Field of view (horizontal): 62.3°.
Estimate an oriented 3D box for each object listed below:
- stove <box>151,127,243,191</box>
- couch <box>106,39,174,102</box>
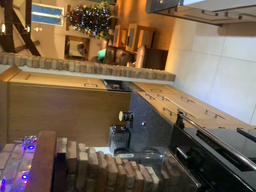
[{"bbox_3d":[0.350,0.670,1.070,0.960,0.050,0.680,-134,50,-67],"label":"stove"},{"bbox_3d":[0.160,-0.440,4.180,1.250,0.890,0.970,-171,85,-72],"label":"couch"}]
